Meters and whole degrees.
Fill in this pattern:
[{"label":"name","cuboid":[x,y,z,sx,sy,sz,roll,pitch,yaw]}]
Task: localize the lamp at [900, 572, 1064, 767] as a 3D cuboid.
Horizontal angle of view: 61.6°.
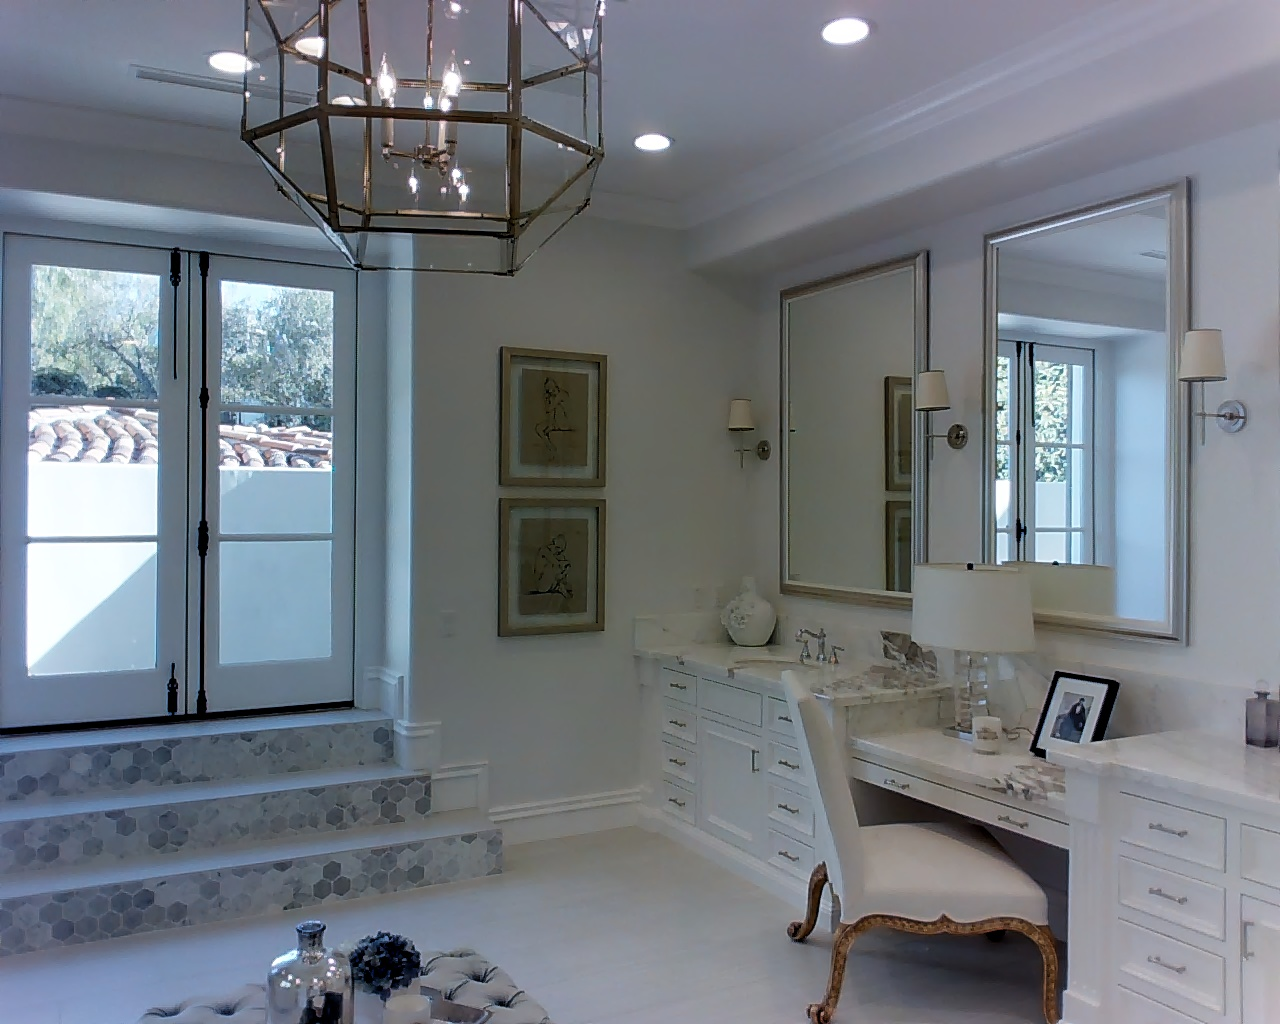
[{"label":"lamp","cuboid":[1.290,0.570,4.080,0.330,0.660,0.500,0,-1,-29]}]
